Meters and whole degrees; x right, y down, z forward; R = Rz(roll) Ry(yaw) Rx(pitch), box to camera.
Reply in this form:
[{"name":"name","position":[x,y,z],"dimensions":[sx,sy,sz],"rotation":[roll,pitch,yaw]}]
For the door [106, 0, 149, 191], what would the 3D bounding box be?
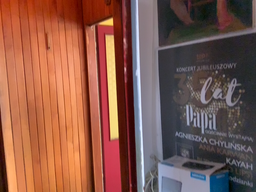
[{"name":"door","position":[0.030,0.140,0.990],"dimensions":[0.090,2.570,0.920],"rotation":[-2,6,3]}]
